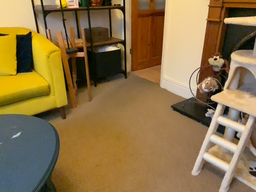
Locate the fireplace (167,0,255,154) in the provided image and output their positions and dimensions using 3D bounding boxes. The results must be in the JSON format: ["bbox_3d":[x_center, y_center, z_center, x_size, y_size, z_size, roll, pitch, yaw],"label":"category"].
[{"bbox_3d":[1.040,-0.250,1.560,0.530,1.210,1.390,-17,30,-34],"label":"fireplace"}]

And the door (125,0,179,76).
[{"bbox_3d":[0.390,-1.460,3.130,0.980,2.200,0.180,-20,32,-37],"label":"door"}]
